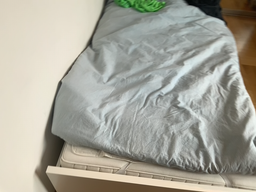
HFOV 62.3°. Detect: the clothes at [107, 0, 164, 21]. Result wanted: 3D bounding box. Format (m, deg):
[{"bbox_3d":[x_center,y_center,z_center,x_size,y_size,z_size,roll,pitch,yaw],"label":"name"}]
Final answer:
[{"bbox_3d":[0.070,-0.740,1.720,0.430,0.090,0.270,7,49,2],"label":"clothes"}]
